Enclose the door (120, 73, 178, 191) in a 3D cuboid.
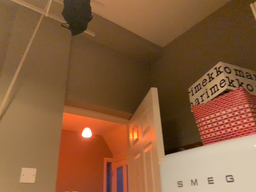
[{"bbox_3d":[0.120,1.000,1.540,0.160,2.120,0.970,4,-26,-12],"label":"door"}]
